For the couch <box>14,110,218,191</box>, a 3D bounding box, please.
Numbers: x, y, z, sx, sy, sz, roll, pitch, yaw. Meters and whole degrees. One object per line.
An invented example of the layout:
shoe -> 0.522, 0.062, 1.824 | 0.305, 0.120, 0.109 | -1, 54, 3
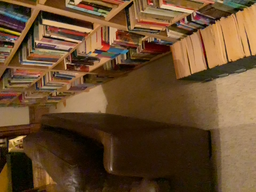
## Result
couch -> -0.140, 0.650, 1.460 | 1.090, 0.930, 1.040 | -3, 89, 51
